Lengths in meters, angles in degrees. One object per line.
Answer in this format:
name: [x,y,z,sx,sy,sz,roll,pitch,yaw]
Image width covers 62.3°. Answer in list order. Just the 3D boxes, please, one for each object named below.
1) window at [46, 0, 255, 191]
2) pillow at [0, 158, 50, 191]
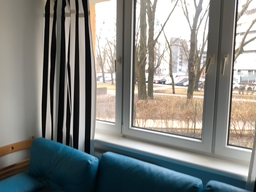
window: [0.280,-0.250,1.760,2.820,1.590,0.240,6,8,35]
pillow: [-0.910,0.660,1.620,0.390,0.130,0.440,6,8,33]
